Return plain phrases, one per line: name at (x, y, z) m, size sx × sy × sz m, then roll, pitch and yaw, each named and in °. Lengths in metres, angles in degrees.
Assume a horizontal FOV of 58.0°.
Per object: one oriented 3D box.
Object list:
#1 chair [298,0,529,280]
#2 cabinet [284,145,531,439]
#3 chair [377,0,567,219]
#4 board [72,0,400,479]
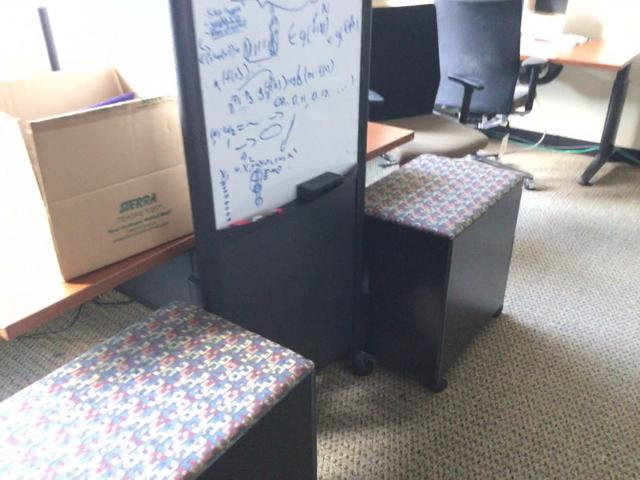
chair at (0.390, -0.500, 2.620) m, size 0.640 × 1.020 × 0.700 m, roll -21°, pitch 32°, yaw -32°
cabinet at (0.310, 0.110, 1.920) m, size 0.450 × 0.610 × 0.740 m, roll 17°, pitch 32°, yaw 33°
chair at (0.770, -0.760, 3.020) m, size 0.700 × 1.020 × 0.630 m, roll 17°, pitch 32°, yaw 33°
board at (-0.090, -0.220, 1.280) m, size 0.160 × 1.630 × 0.760 m, roll 17°, pitch 32°, yaw 33°
